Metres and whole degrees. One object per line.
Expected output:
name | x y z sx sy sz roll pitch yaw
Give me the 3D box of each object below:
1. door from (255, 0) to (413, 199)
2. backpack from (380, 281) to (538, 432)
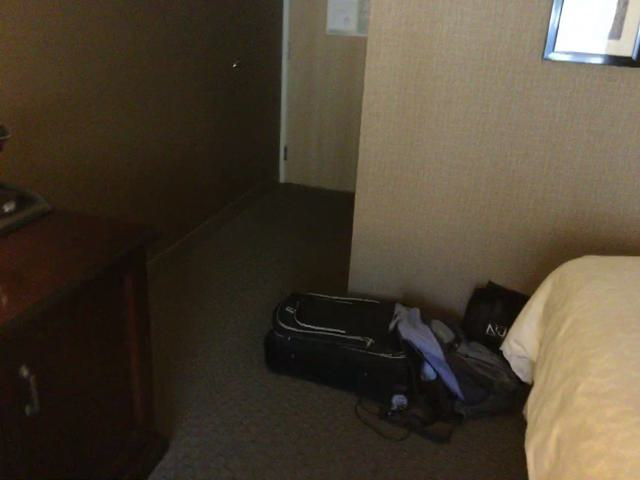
door | 0.080 -1.360 3.940 1.030 2.070 0.150 9 20 15
backpack | 0.520 0.410 2.160 0.490 0.310 0.400 9 20 15
